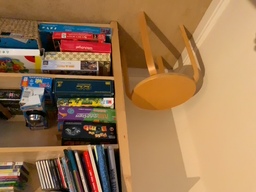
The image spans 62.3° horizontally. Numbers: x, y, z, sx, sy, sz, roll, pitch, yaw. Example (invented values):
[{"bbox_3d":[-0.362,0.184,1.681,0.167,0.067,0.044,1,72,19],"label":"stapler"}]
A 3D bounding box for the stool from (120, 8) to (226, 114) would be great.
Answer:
[{"bbox_3d":[0.220,-0.190,1.330,0.440,0.450,0.440,2,148,-12],"label":"stool"}]
